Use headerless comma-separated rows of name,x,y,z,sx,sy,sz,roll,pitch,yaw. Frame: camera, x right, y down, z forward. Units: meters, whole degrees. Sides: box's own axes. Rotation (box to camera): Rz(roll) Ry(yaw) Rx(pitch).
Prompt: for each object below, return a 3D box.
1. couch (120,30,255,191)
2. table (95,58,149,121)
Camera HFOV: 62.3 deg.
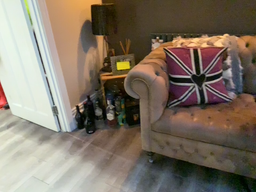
couch,0.890,0.060,1.600,1.590,0.860,0.940,9,31,23
table,-0.070,-0.090,2.380,0.480,0.500,0.430,-10,29,-11
